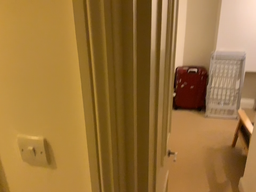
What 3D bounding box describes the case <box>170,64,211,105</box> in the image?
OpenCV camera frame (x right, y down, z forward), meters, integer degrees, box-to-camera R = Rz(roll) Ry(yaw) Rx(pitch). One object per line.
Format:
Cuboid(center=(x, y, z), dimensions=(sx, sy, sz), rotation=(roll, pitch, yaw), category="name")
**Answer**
Cuboid(center=(1.100, -0.220, 3.860), dimensions=(0.620, 0.630, 0.420), rotation=(2, 21, 7), category="case")
